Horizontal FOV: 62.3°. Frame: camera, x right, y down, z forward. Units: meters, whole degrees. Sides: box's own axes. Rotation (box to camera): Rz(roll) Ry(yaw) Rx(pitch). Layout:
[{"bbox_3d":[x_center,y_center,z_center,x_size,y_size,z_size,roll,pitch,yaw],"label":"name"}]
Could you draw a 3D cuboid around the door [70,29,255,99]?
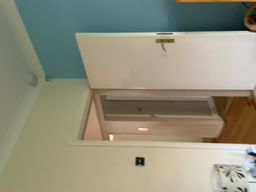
[{"bbox_3d":[0.460,-0.320,2.370,0.850,2.020,0.140,87,-175,-47],"label":"door"}]
